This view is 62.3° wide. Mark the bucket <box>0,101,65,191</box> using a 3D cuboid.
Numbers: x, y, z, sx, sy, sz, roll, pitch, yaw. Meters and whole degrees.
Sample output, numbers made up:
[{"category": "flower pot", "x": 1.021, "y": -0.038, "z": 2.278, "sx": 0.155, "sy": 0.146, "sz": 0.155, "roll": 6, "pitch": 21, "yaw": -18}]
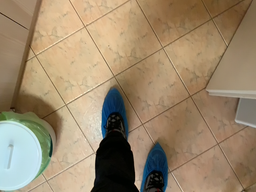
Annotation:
[{"category": "bucket", "x": -0.470, "y": 0.230, "z": 0.990, "sx": 0.190, "sy": 0.290, "sz": 0.360, "roll": 14, "pitch": 92, "yaw": -2}]
